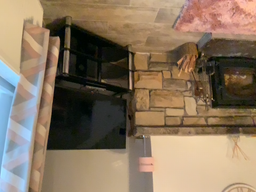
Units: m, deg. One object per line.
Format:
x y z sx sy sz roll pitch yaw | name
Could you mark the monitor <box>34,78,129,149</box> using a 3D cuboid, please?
-0.350 0.200 1.950 0.950 0.540 0.040 12 161 -43 | monitor
